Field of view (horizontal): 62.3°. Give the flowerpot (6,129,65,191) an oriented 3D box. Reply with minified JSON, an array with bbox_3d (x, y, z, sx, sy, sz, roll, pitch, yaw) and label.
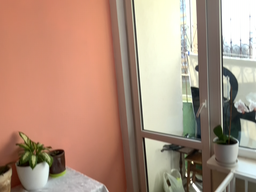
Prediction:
[{"bbox_3d":[-0.660,0.460,1.520,0.280,0.340,0.250,3,12,41],"label":"flowerpot"}]
